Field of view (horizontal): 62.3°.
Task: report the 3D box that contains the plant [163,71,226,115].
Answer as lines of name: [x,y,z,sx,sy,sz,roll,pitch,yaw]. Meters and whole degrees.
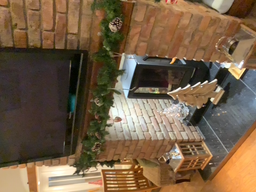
plant: [0.660,-0.020,2.150,0.180,0.460,0.410,-112,30,-47]
